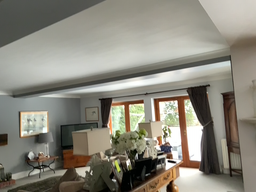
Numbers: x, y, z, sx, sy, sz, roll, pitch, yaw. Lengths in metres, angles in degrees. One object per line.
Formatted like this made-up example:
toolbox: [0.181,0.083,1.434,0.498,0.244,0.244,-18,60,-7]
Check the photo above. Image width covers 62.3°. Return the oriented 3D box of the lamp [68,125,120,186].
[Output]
lamp: [-0.390,0.660,2.510,0.300,0.580,0.520,-7,-5,34]

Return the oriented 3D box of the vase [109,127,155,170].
vase: [0.060,0.710,2.990,0.460,0.490,0.440,-7,-5,35]
